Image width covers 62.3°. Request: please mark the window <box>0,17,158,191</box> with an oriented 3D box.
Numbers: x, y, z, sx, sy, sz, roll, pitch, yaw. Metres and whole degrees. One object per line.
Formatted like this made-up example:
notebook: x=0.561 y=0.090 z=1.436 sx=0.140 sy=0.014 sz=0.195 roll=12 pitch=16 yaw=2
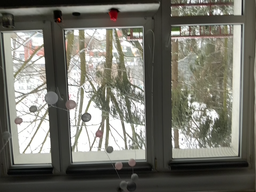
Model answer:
window: x=-0.490 y=0.120 z=1.940 sx=1.490 sy=1.560 sz=0.170 roll=-2 pitch=-174 yaw=-1
